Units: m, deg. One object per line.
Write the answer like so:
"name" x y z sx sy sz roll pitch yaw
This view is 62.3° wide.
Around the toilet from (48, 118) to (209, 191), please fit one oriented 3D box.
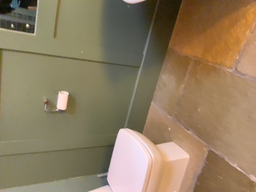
"toilet" -0.020 0.540 1.350 0.380 0.830 0.680 40 121 51
